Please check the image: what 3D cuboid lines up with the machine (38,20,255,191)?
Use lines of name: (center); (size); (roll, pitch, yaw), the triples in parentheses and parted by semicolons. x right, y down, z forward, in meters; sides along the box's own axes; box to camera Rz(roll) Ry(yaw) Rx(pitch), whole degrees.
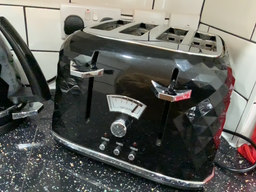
machine: (0.050, 0.010, 0.360); (0.290, 0.200, 0.210); (13, 28, 11)
